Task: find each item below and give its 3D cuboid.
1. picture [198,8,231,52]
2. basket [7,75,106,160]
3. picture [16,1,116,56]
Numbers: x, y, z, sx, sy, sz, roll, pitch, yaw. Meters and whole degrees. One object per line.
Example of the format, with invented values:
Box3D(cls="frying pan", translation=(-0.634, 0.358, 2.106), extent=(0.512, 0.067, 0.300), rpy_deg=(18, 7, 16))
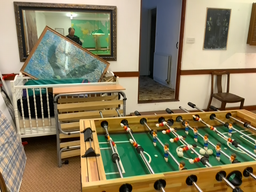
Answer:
Box3D(cls="picture", translation=(1.530, -1.160, 3.760), extent=(0.500, 0.720, 0.050), rpy_deg=(-2, 16, -12))
Box3D(cls="basket", translation=(-0.910, 0.240, 2.970), extent=(1.120, 0.940, 0.700), rpy_deg=(-2, 16, -12))
Box3D(cls="picture", translation=(-0.870, -0.970, 3.140), extent=(1.360, 0.710, 0.110), rpy_deg=(-2, 16, -11))
